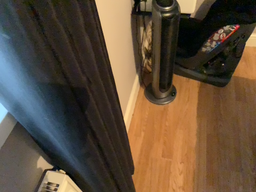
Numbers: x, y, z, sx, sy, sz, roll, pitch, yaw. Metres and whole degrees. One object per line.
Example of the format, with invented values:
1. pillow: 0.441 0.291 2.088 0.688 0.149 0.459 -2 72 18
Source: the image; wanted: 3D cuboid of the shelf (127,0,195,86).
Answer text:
1. shelf: 0.240 -0.660 1.370 0.370 1.190 0.480 8 52 13
